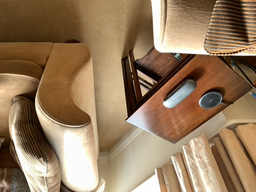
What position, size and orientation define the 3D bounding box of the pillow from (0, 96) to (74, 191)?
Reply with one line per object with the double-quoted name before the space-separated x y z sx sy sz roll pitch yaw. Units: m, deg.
"pillow" -0.430 0.320 1.080 0.250 0.380 0.510 2 132 -9
